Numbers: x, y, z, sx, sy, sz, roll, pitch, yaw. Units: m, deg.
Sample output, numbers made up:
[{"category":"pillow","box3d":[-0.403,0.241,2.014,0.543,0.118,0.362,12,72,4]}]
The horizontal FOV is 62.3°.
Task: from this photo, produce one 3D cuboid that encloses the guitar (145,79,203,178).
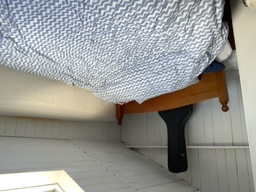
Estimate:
[{"category":"guitar","box3d":[0.480,0.350,2.290,0.440,0.940,0.360,-11,163,37]}]
